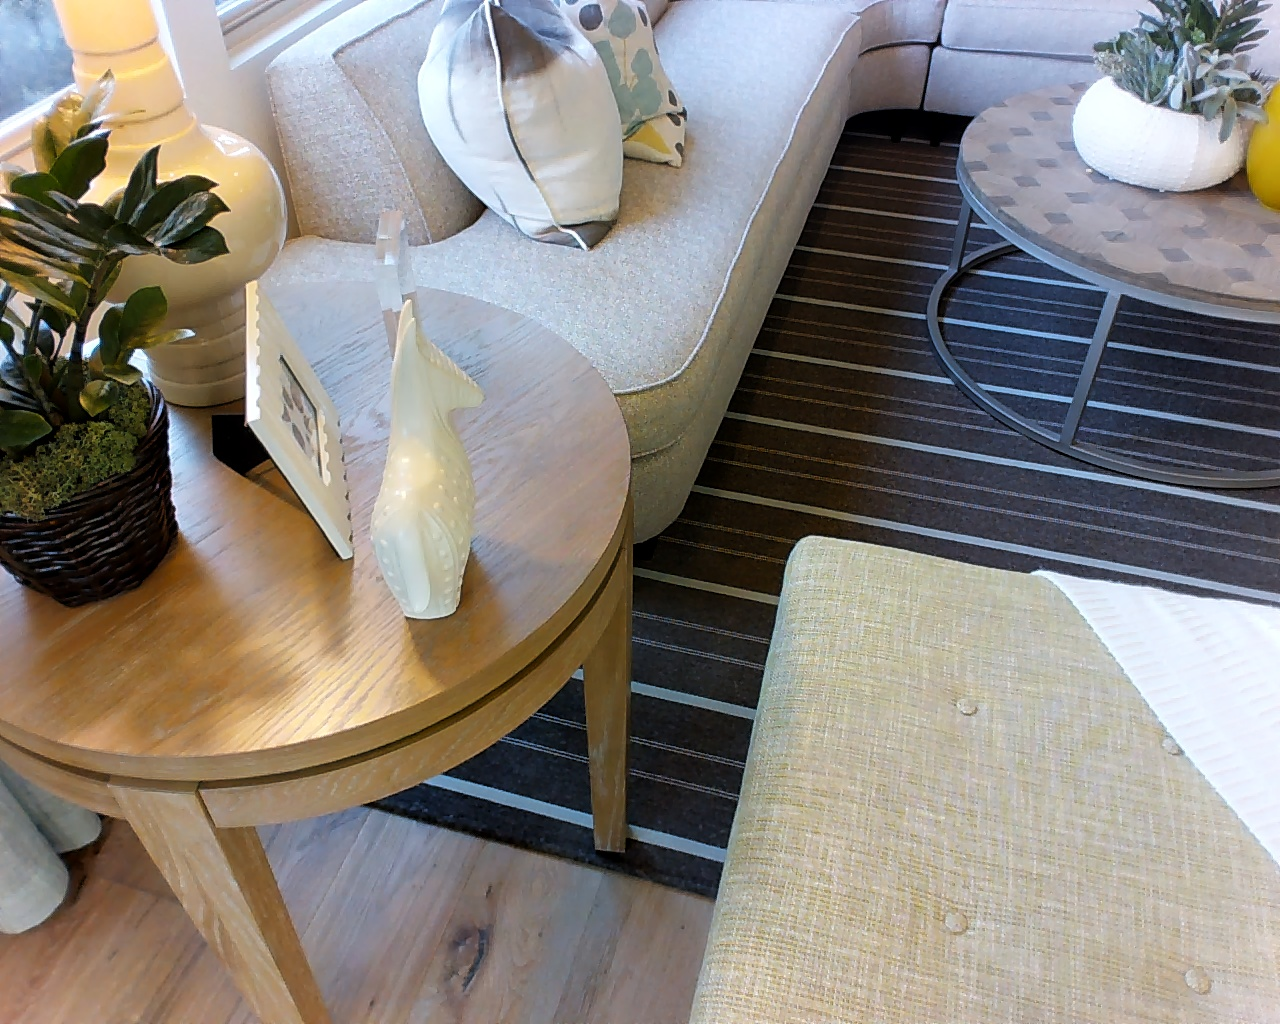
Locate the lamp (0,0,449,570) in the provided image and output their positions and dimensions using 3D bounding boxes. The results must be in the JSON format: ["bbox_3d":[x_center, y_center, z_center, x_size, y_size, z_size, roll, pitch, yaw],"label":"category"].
[{"bbox_3d":[-0.510,-0.470,0.980,0.390,0.910,0.410,28,48,28],"label":"lamp"}]
